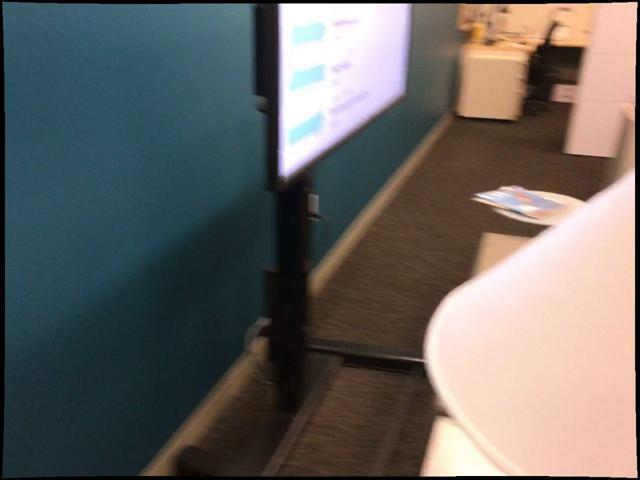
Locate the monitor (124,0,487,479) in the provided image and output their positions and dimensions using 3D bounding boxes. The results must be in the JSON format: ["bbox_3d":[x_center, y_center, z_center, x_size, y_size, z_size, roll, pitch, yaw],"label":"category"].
[{"bbox_3d":[0.060,-0.100,1.700,0.529,1.624,1.160,12,24,18],"label":"monitor"}]
